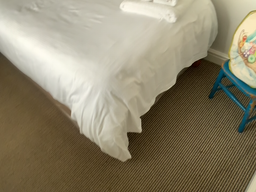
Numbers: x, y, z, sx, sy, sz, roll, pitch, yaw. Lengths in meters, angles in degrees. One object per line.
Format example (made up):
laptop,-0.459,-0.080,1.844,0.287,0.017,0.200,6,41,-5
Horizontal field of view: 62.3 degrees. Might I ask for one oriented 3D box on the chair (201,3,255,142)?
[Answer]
chair,0.780,-0.140,1.190,0.470,0.670,0.370,-22,53,-10
